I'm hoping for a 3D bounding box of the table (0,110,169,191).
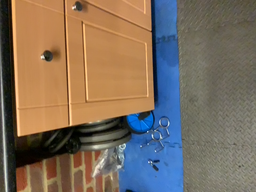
[{"bbox_3d":[-0.280,0.210,1.000,0.610,0.900,0.200,-2,91,35],"label":"table"}]
